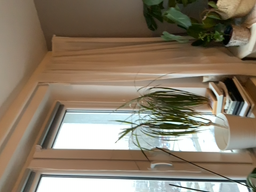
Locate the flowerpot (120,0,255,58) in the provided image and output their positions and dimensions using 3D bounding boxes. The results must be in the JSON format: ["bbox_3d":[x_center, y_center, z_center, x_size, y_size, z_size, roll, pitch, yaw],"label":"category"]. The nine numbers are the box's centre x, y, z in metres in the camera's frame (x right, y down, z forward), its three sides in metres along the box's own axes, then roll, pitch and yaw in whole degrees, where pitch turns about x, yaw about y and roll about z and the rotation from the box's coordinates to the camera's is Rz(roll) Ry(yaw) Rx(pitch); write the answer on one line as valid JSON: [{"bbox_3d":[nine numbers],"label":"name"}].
[{"bbox_3d":[0.440,-0.830,1.400,0.580,0.950,0.950,-88,0,-53],"label":"flowerpot"}]
